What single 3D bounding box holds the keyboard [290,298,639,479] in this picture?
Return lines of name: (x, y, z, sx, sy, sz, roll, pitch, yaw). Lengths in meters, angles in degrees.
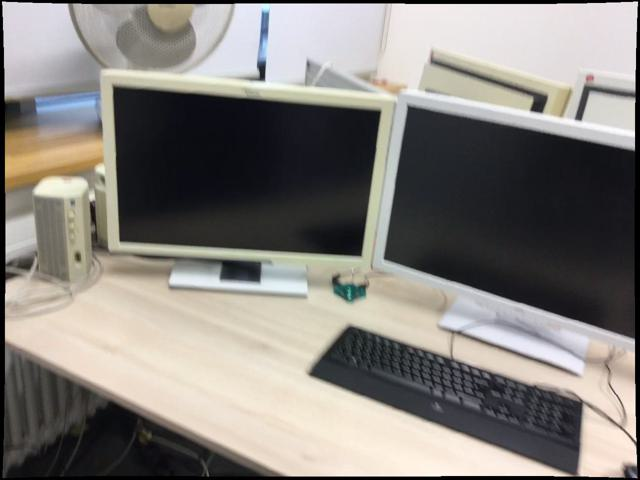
keyboard: (0.260, 0.260, 1.000, 0.570, 0.040, 0.260, 18, 26, 25)
